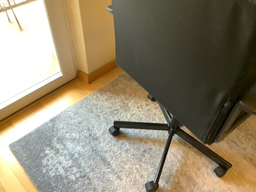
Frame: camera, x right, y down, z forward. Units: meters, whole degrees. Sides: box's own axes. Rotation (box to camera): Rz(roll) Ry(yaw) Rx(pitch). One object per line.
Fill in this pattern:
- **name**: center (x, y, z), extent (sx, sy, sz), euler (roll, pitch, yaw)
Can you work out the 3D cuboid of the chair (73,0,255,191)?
- **chair**: center (0.290, -0.180, 0.850), extent (0.700, 1.200, 0.720), euler (-29, 56, -25)
